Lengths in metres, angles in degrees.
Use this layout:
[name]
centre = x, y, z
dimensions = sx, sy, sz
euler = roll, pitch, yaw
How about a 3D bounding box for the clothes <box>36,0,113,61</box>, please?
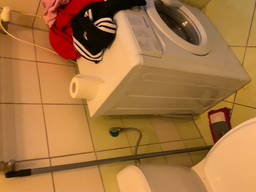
[clothes]
centre = -0.280, -0.420, 1.010
dimensions = 0.430, 0.180, 0.280
euler = -42, 56, 43
